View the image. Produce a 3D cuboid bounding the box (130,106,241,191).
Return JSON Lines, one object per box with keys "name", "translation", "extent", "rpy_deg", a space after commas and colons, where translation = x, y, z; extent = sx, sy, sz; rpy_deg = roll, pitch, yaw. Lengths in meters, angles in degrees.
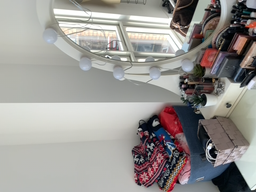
{"name": "box", "translation": [0.270, 0.300, 1.170], "extent": [0.370, 0.410, 0.310], "rpy_deg": [-104, 19, -45]}
